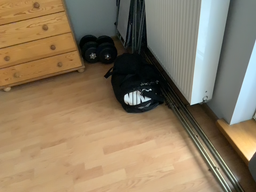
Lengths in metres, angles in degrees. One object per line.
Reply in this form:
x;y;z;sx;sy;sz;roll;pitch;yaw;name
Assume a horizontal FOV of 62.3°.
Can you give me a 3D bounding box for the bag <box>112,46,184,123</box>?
0.130;-0.120;1.690;0.410;0.220;0.600;-12;42;-4;bag
